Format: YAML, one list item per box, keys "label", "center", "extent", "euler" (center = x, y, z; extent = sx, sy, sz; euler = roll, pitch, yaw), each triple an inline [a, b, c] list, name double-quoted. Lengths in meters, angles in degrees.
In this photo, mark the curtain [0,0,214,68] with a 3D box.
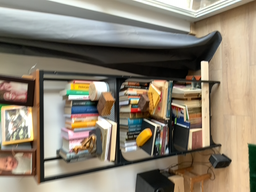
- label: "curtain"
  center: [-0.380, -0.370, 1.230]
  extent: [0.340, 2.350, 0.210]
  euler: [-5, 86, 57]
